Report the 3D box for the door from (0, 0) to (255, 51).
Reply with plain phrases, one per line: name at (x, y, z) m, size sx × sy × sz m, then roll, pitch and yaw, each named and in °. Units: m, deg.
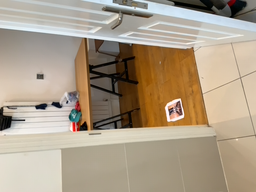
door at (-0.120, -0.440, 1.310) m, size 0.930 × 2.030 × 0.070 m, roll -163°, pitch 75°, yaw -66°
